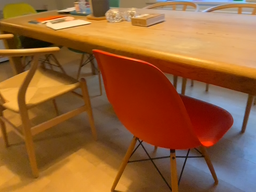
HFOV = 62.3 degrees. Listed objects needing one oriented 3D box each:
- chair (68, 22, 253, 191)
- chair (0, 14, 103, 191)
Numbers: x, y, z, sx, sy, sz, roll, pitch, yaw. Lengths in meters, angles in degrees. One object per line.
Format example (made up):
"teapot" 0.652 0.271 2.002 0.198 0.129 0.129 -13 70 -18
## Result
"chair" 0.130 0.150 0.950 0.470 0.800 0.460 23 39 37
"chair" -0.540 0.000 1.260 0.500 0.800 0.580 -20 34 -27
